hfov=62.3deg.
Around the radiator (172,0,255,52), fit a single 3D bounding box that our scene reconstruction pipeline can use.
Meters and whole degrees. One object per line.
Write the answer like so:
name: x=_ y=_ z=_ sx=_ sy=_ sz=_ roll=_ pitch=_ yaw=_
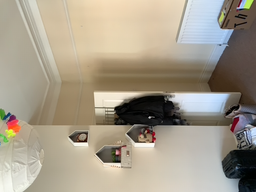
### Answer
radiator: x=1.150 y=-1.130 z=2.790 sx=1.270 sy=0.870 sz=0.130 roll=94 pitch=174 yaw=-51
